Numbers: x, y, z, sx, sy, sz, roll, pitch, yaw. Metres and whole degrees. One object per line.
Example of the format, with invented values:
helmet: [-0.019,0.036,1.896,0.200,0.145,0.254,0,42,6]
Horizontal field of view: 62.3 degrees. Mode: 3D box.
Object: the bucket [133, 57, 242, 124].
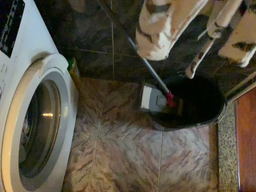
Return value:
bucket: [0.270,-0.010,1.110,0.460,0.320,0.220,4,70,-2]
